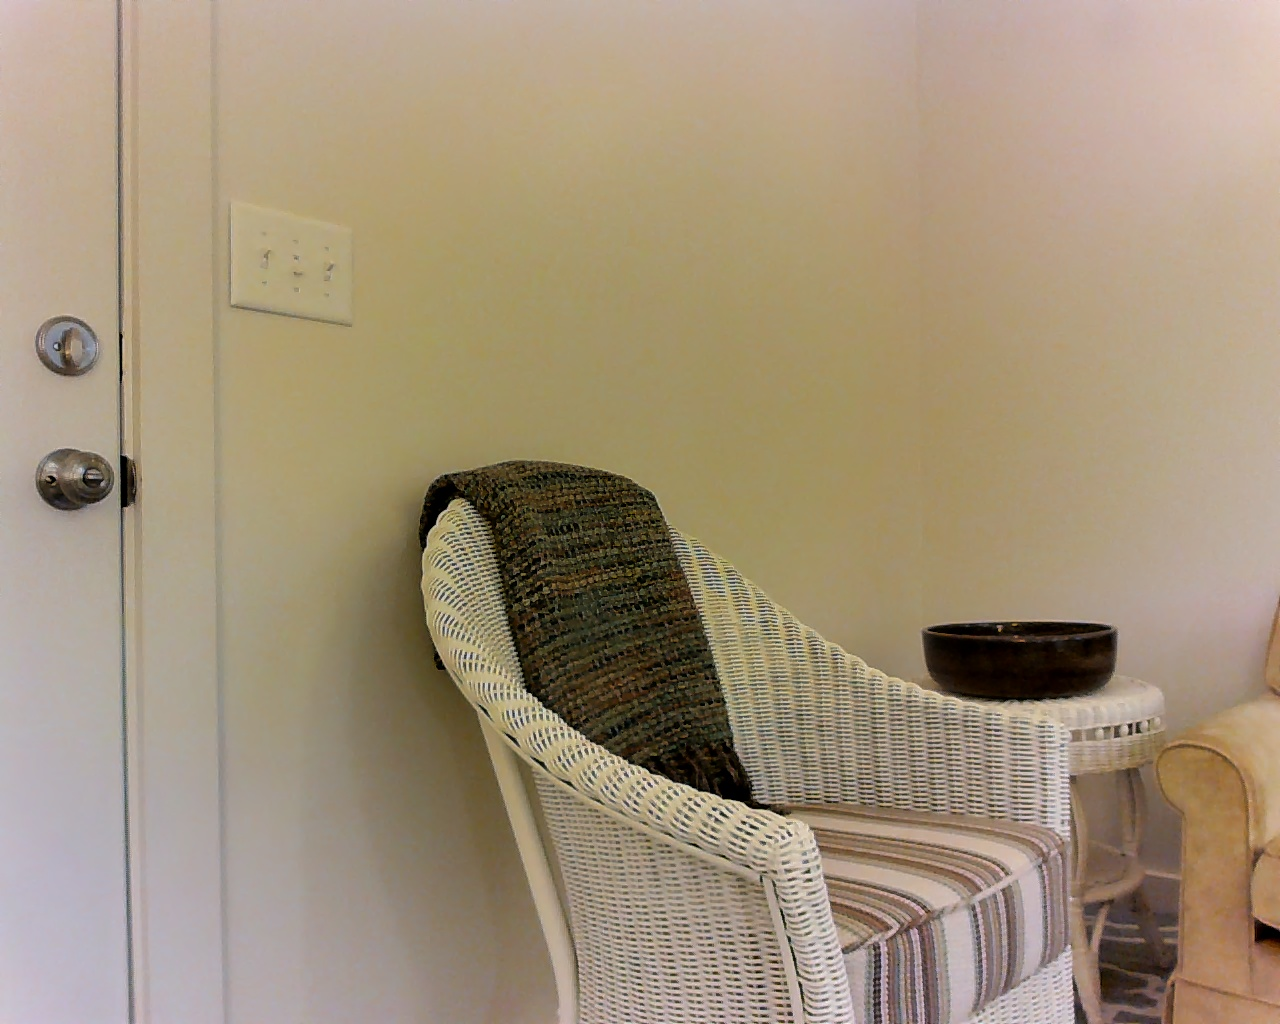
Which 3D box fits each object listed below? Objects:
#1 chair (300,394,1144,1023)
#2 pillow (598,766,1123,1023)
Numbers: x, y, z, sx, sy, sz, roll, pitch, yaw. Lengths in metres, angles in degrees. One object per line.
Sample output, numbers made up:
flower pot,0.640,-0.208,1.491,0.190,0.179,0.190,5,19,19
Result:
chair,0.120,0.390,1.400,0.800,0.970,0.750,0,0,40
pillow,0.270,0.530,1.270,0.430,0.310,0.470,0,0,41
